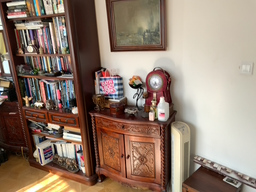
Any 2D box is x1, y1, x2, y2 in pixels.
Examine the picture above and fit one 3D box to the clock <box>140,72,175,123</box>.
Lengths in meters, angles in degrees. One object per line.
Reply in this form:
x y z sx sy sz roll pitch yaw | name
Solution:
0.270 0.000 1.910 0.240 0.380 0.250 6 20 26 | clock
